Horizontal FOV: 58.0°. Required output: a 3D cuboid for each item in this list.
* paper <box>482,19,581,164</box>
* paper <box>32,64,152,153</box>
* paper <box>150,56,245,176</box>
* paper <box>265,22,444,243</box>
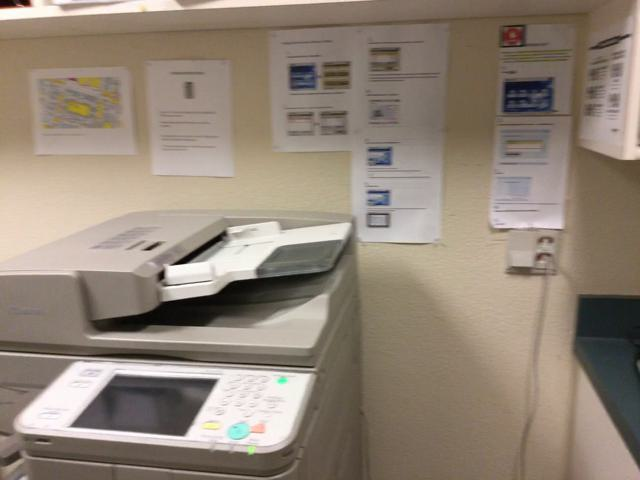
[{"bbox_3d":[0.460,-0.320,1.270,0.190,0.300,0.030,1,9,11],"label":"paper"},{"bbox_3d":[-0.580,-0.330,1.470,0.300,0.210,0.030,1,9,11],"label":"paper"},{"bbox_3d":[-0.300,-0.300,1.420,0.220,0.280,0.030,1,9,11],"label":"paper"},{"bbox_3d":[0.080,-0.240,1.350,0.400,0.480,0.070,1,9,11],"label":"paper"}]
